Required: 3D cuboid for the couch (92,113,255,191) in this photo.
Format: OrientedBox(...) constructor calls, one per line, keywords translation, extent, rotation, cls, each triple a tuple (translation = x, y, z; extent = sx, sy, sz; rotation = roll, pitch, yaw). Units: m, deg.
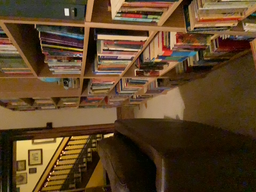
OrientedBox(translation=(0.310, 0.720, 1.370), extent=(1.140, 0.940, 1.080), rotation=(180, 88, -75), cls="couch")
